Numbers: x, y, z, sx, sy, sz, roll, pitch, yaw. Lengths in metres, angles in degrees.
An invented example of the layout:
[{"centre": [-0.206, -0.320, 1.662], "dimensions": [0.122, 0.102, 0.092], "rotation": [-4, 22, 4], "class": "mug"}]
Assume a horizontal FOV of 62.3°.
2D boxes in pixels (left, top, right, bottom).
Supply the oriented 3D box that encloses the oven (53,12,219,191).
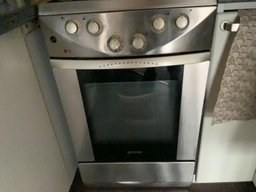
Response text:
[{"centre": [0.050, 0.020, 1.060], "dimensions": [0.480, 0.700, 0.620], "rotation": [-2, 31, 4], "class": "oven"}]
